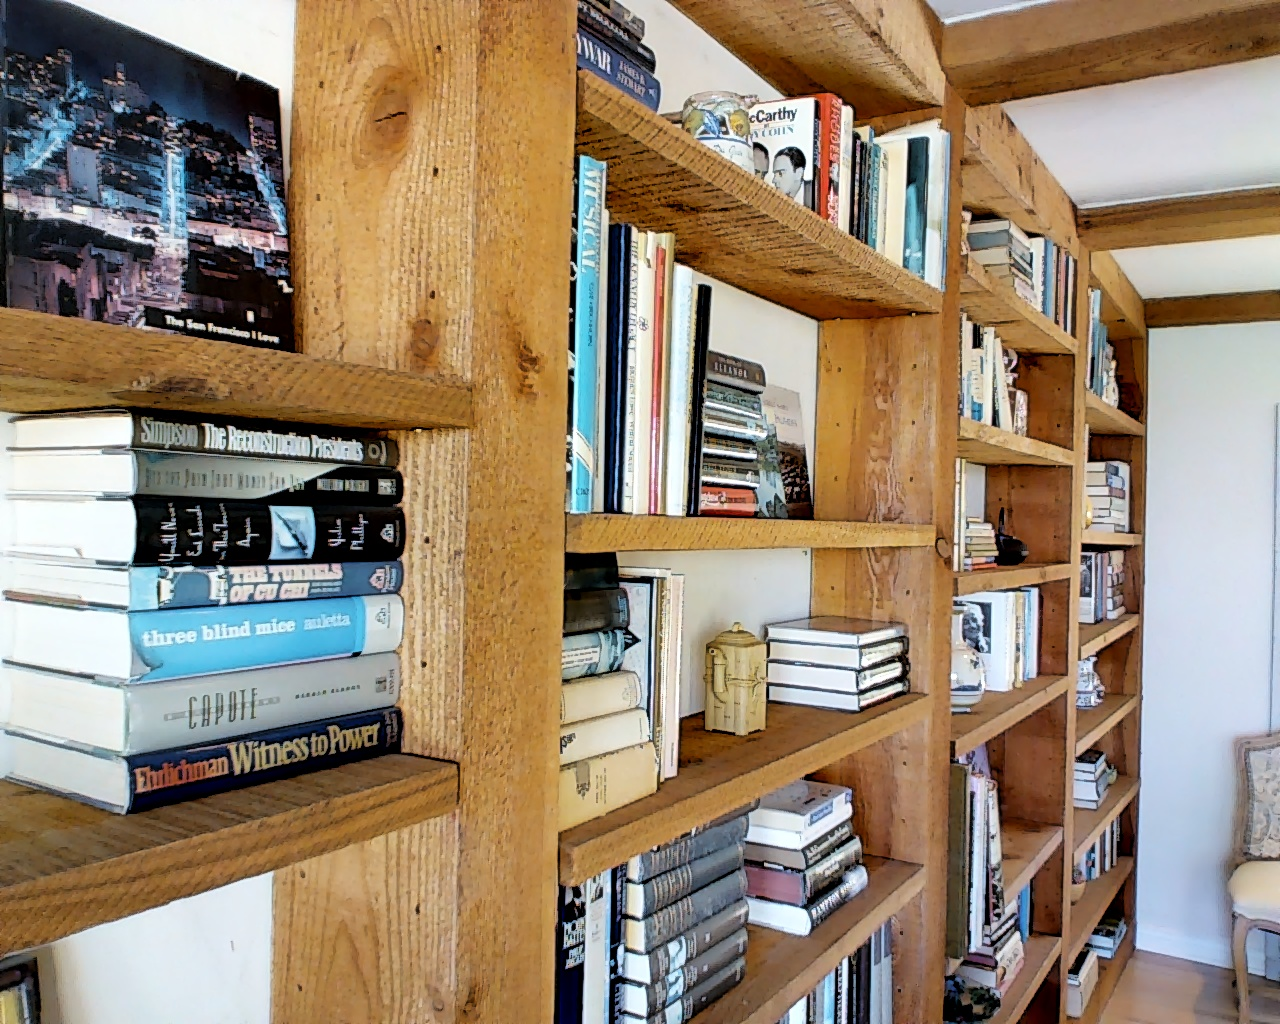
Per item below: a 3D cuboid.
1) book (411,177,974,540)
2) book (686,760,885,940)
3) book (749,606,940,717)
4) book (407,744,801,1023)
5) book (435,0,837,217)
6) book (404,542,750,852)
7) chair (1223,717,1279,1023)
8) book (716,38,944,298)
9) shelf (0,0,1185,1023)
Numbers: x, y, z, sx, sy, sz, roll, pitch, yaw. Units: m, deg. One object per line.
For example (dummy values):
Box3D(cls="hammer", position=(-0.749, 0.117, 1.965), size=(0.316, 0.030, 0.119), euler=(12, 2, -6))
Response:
Box3D(cls="book", position=(0.170, -0.140, 1.530), size=(0.300, 0.340, 1.060), euler=(1, 0, 33))
Box3D(cls="book", position=(0.240, 0.530, 1.730), size=(0.210, 0.180, 0.280), euler=(1, 0, 34))
Box3D(cls="book", position=(0.360, 0.250, 1.860), size=(0.230, 0.140, 0.280), euler=(1, 0, 34))
Box3D(cls="book", position=(-0.020, 0.480, 1.290), size=(0.230, 0.290, 0.480), euler=(1, 0, 34))
Box3D(cls="book", position=(0.040, -0.540, 1.380), size=(0.180, 0.130, 0.680), euler=(1, 0, 32))
Box3D(cls="book", position=(-0.060, 0.180, 1.210), size=(0.230, 0.280, 0.330), euler=(1, 0, 34))
Box3D(cls="chair", position=(2.299, 1.230, 3.580), size=(0.550, 0.920, 0.690), euler=(1, 0, 33))
Box3D(cls="book", position=(0.330, -0.550, 1.800), size=(0.240, 0.290, 0.390), euler=(1, 0, 33))
Box3D(cls="shelf", position=(0.140, 0.380, 1.520), size=(0.370, 2.531, 6.559), euler=(1, 0, 33))
